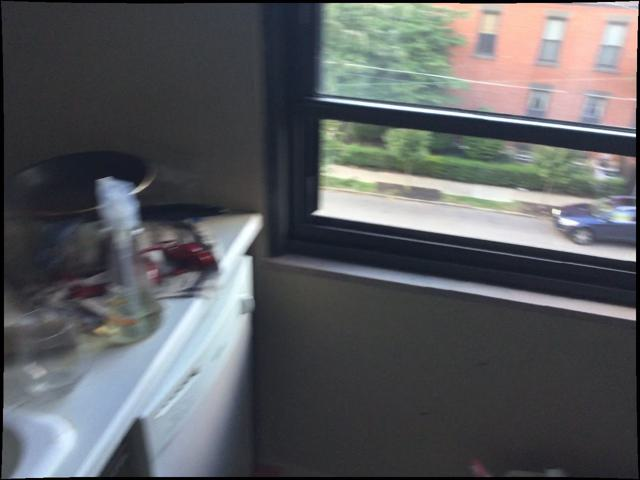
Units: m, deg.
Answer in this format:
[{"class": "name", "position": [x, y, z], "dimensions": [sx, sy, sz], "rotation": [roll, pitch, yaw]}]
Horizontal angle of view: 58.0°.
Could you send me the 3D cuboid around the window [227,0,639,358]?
[{"class": "window", "position": [0.339, -0.311, 1.030], "dimensions": [0.968, 1.052, 0.230], "rotation": [9, 35, 11]}]
